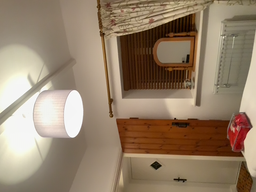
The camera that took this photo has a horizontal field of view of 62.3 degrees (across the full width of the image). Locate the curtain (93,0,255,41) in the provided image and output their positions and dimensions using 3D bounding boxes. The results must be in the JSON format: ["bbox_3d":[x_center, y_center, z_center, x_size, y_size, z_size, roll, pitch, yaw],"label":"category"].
[{"bbox_3d":[0.640,-0.950,2.300,0.100,2.030,0.590,-76,-16,-62],"label":"curtain"}]

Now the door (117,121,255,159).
[{"bbox_3d":[0.840,0.630,2.970,0.810,1.910,0.070,82,-169,-45],"label":"door"}]
